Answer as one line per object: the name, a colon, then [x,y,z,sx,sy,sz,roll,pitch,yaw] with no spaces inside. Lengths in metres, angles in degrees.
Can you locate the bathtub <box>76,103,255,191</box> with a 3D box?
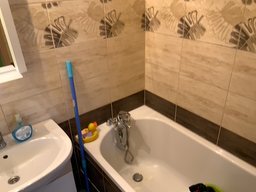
bathtub: [0.400,0.730,1.330,0.680,0.610,1.650,-22,34,-33]

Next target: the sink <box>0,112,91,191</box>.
sink: [-0.620,0.390,1.110,0.670,0.210,0.480,-21,34,-32]
